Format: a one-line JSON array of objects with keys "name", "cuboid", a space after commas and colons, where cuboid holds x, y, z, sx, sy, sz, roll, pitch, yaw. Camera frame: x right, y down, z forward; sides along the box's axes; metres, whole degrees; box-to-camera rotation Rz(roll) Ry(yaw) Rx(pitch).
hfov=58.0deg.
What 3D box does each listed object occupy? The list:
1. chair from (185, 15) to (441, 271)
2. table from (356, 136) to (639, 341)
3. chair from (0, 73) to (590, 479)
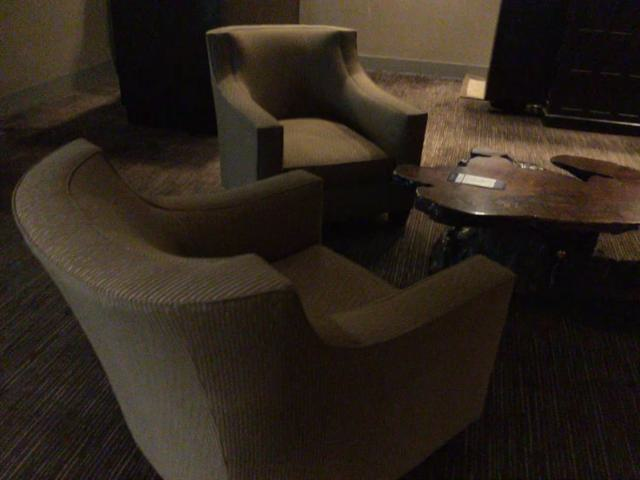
[{"name": "chair", "cuboid": [-0.050, -0.530, 2.790, 0.890, 0.900, 0.800, -14, 30, -21]}, {"name": "table", "cuboid": [1.060, -0.050, 2.390, 1.740, 0.480, 0.850, 2, 28, 9]}, {"name": "chair", "cuboid": [-0.140, 0.180, 1.480, 1.100, 0.880, 0.990, -24, 35, -35]}]
